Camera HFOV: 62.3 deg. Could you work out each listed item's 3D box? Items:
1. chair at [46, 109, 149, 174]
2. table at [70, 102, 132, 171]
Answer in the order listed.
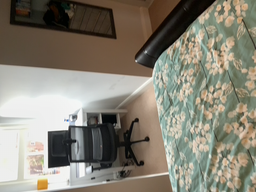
[{"bbox_3d":[-0.440,0.600,2.790,0.750,1.120,0.640,137,130,-56],"label":"chair"},{"bbox_3d":[-0.450,0.620,3.260,0.600,0.730,0.880,138,130,-56],"label":"table"}]
